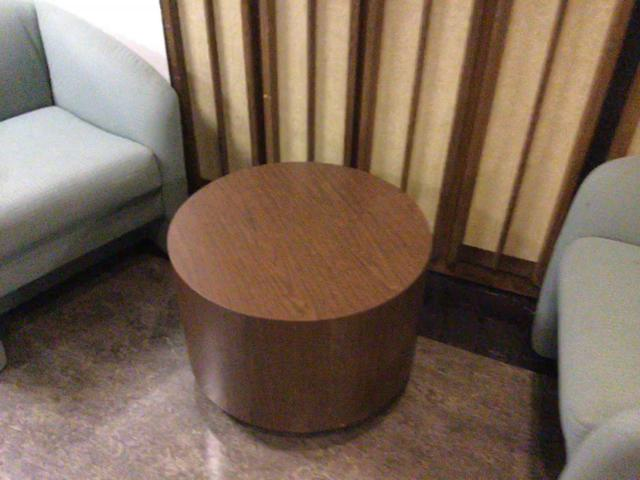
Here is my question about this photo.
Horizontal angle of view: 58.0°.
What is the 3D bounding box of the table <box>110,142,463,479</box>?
[{"bbox_3d":[-0.040,0.140,1.540,0.650,0.480,0.630,14,37,18],"label":"table"}]
